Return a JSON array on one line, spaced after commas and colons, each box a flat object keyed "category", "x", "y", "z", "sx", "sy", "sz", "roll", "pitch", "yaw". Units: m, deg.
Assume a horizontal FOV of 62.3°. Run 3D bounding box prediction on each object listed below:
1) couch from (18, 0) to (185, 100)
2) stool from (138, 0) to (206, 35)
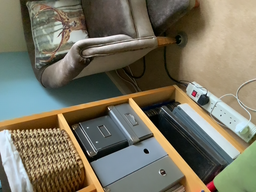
[{"category": "couch", "x": -0.220, "y": -0.440, "z": 1.320, "sx": 0.740, "sy": 0.610, "sz": 0.700, "roll": -20, "pitch": 83, "yaw": 54}, {"category": "stool", "x": 0.190, "y": -0.550, "z": 1.100, "sx": 0.230, "sy": 0.180, "sz": 0.390, "roll": -26, "pitch": 79, "yaw": 53}]
